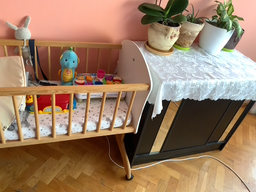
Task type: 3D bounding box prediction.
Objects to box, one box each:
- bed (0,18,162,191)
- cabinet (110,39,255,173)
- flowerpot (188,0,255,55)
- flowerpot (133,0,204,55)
[{"bbox_3d":[-0.440,0.060,1.230,0.930,0.800,0.540,-5,39,-23],"label":"bed"},{"bbox_3d":[0.430,0.060,1.680,0.940,0.810,0.520,-3,39,-22],"label":"cabinet"},{"bbox_3d":[0.670,-0.490,1.490,0.340,0.370,0.160,-5,39,-23],"label":"flowerpot"},{"bbox_3d":[0.230,-0.470,1.330,0.270,0.330,0.250,-3,39,-22],"label":"flowerpot"}]
